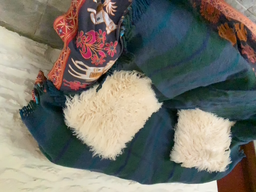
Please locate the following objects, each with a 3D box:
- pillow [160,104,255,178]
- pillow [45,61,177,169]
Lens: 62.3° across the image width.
[{"bbox_3d":[0.540,0.320,1.500,0.520,0.440,0.170,12,133,-24],"label":"pillow"},{"bbox_3d":[-0.050,0.100,1.070,0.170,0.470,0.530,-53,153,7],"label":"pillow"}]
